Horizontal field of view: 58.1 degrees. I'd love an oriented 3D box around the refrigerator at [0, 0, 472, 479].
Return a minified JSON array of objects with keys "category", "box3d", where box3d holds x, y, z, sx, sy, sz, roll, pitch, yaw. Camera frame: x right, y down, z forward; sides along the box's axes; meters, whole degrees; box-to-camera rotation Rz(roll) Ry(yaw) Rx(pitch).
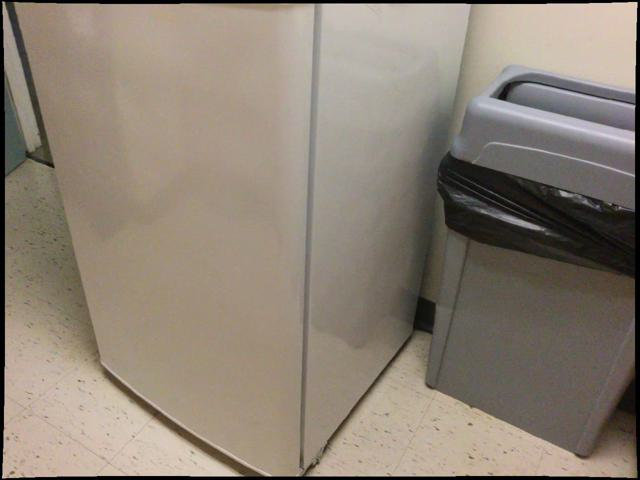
[{"category":"refrigerator","box3d":[-0.160,-0.331,1.250,0.729,1.703,0.700,19,39,23]}]
